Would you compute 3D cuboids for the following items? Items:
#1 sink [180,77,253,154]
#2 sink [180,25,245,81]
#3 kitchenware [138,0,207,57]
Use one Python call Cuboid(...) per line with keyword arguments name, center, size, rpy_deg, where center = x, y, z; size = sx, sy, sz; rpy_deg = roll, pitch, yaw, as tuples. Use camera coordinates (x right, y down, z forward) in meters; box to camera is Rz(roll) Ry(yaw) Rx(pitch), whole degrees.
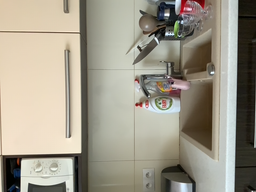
Cuboid(name="sink", center=(0.440, 0.080, 1.140), size=(0.420, 0.190, 0.340), rpy_deg=(-155, 66, -86))
Cuboid(name="sink", center=(0.420, -0.200, 1.130), size=(0.420, 0.150, 0.220), rpy_deg=(-155, 66, -86))
Cuboid(name="kitchenware", center=(0.200, -0.440, 1.110), size=(0.450, 0.240, 0.410), rpy_deg=(-134, 44, -84))
